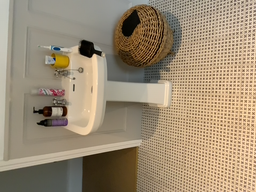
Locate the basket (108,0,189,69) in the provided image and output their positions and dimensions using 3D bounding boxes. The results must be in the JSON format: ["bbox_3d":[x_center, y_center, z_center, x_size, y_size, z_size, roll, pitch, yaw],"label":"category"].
[{"bbox_3d":[0.160,-0.460,1.700,0.440,0.440,0.430,8,94,47],"label":"basket"}]

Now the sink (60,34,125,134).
[{"bbox_3d":[-0.250,-0.070,1.390,0.440,0.190,0.550,3,91,47],"label":"sink"}]
